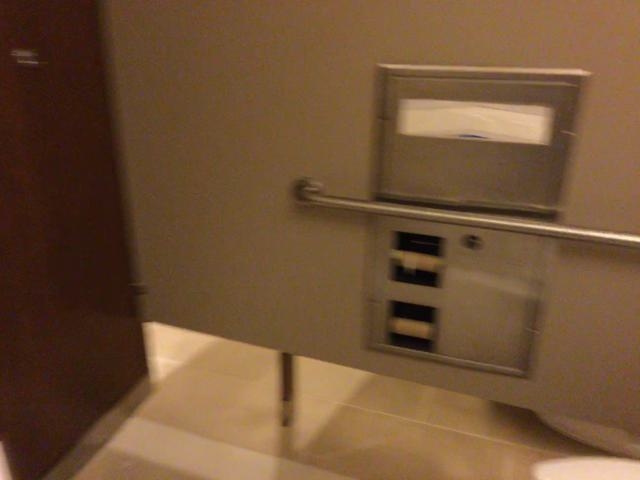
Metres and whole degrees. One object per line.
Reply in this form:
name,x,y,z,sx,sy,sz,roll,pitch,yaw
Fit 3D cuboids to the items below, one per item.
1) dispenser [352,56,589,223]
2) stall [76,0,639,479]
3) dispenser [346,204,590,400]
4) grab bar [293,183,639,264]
dispenser,0.310,-0.230,1.300,0.490,0.340,0.030,8,24,20
stall,0.340,0.020,1.490,1.960,1.400,0.260,8,24,20
dispenser,0.340,0.150,1.460,0.560,0.430,0.050,8,24,20
grab bar,0.530,-0.020,1.270,1.250,0.070,0.090,8,24,20
